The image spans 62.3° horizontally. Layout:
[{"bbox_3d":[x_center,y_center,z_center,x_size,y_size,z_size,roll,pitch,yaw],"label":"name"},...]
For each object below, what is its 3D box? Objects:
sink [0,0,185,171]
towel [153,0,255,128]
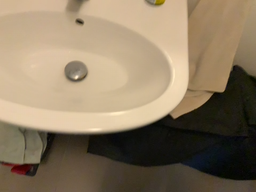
[{"bbox_3d":[-0.170,-0.100,0.620,0.610,0.220,0.490,10,61,-2],"label":"sink"},{"bbox_3d":[0.250,-0.130,0.650,0.220,0.510,0.260,10,61,-2],"label":"towel"}]
